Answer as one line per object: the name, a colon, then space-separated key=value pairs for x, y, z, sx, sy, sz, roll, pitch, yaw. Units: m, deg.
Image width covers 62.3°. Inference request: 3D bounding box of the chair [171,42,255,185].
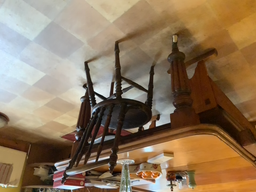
chair: x=0.920 y=0.280 z=1.800 sx=0.380 sy=0.680 sz=1.410 roll=-23 pitch=142 yaw=33
